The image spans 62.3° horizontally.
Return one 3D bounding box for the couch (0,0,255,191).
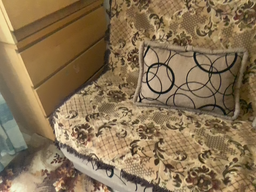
[{"bbox_3d":[0.630,0.100,0.960,1.930,0.940,1.000,17,43,23],"label":"couch"}]
